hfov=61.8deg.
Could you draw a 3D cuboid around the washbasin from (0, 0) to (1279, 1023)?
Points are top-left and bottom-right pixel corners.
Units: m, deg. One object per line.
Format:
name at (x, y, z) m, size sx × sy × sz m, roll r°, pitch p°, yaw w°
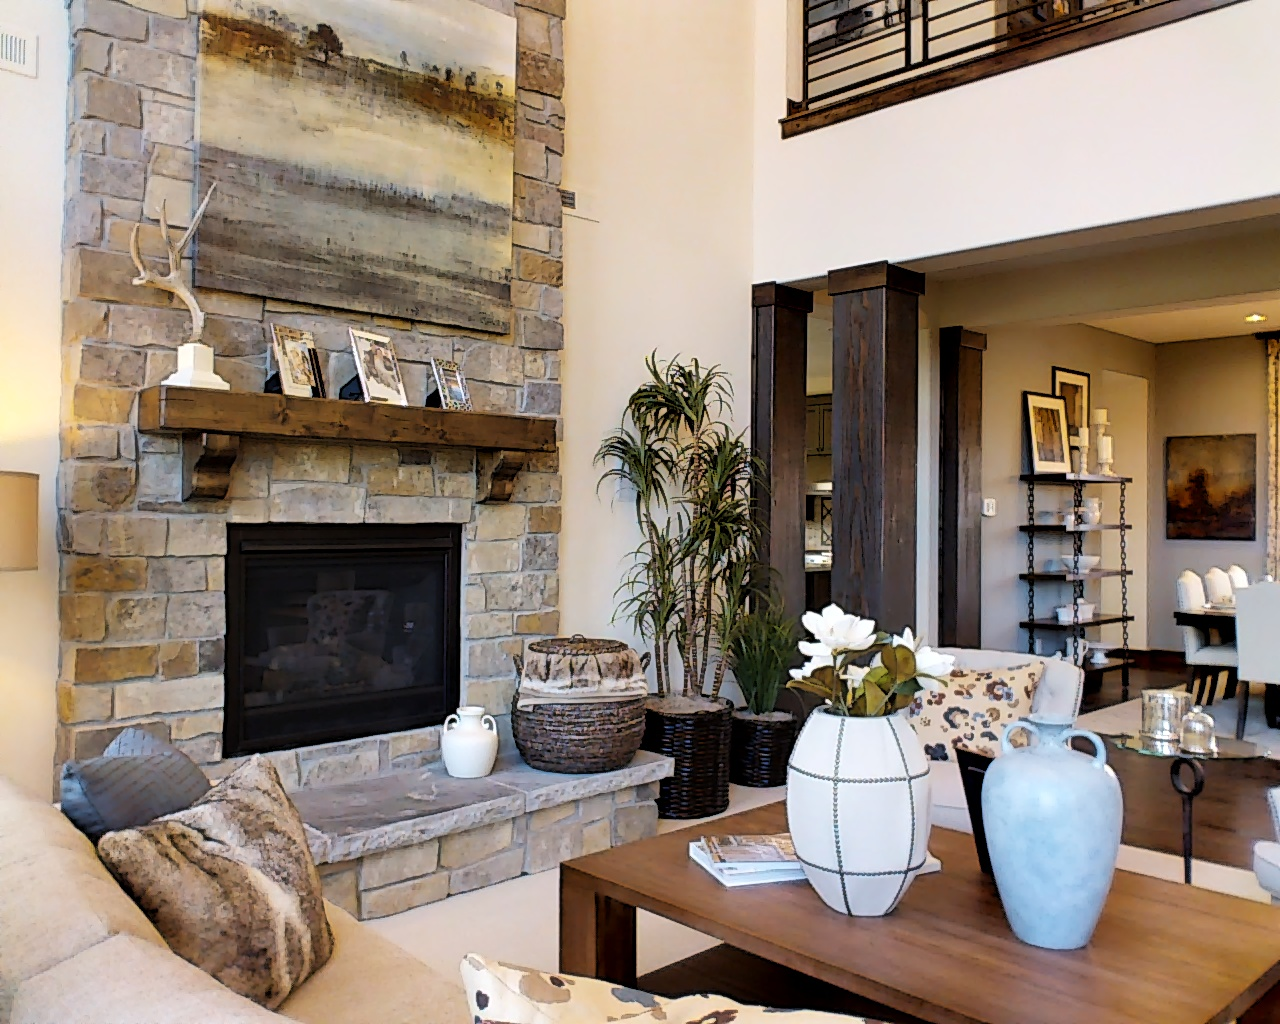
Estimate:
washbasin at (3.380, -1.610, 5.000) m, size 20.149 × 6.080 × 23.090 m, roll 1°, pitch 0°, yaw -22°
